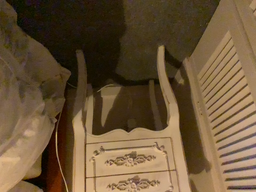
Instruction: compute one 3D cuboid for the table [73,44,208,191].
[{"bbox_3d":[0.010,0.150,0.940,0.430,0.630,0.370,-4,157,-5],"label":"table"}]
